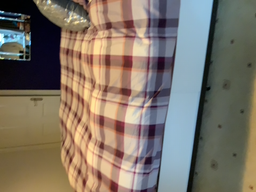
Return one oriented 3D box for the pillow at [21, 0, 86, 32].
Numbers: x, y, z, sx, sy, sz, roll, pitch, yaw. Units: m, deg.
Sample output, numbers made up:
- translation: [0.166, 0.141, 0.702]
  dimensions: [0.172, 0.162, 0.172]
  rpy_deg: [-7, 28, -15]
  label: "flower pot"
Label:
- translation: [-0.470, -0.560, 1.440]
  dimensions: [0.460, 0.350, 0.170]
  rpy_deg: [-142, 53, -75]
  label: "pillow"
